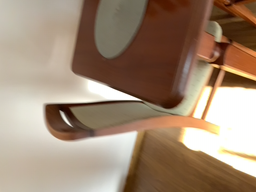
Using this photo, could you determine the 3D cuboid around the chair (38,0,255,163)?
[{"bbox_3d":[0.160,-0.080,0.990,0.420,0.930,0.560,29,107,53],"label":"chair"}]
